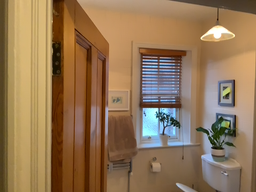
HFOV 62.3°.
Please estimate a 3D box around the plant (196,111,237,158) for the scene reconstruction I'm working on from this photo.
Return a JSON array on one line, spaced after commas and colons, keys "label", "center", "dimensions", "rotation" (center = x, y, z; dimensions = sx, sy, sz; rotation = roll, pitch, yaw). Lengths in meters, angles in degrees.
[{"label": "plant", "center": [1.060, 0.440, 2.580], "dimensions": [0.220, 0.480, 0.440], "rotation": [1, 2, -17]}]
